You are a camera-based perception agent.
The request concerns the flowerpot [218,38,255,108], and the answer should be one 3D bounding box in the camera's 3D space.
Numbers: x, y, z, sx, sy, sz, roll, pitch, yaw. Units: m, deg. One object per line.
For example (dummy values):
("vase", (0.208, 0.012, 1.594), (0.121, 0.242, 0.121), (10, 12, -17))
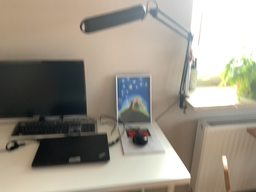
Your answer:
("flowerpot", (0.880, -0.170, 1.410), (0.350, 0.390, 0.320), (-2, 20, -9))
